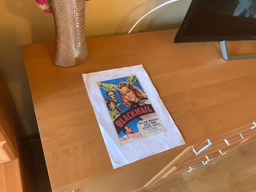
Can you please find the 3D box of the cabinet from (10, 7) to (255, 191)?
[{"bbox_3d":[0.420,0.050,1.230,1.750,0.860,0.560,-12,60,-22],"label":"cabinet"}]
